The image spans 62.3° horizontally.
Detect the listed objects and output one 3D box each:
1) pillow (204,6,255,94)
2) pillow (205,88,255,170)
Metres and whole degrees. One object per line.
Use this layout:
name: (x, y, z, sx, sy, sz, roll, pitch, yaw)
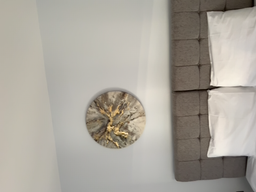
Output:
pillow: (0.900, -0.380, 1.800, 0.150, 0.430, 0.680, -26, -62, -65)
pillow: (0.940, 0.290, 1.940, 0.150, 0.390, 0.700, -35, -54, -69)
